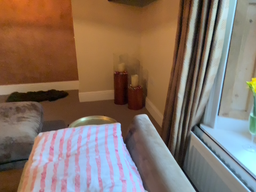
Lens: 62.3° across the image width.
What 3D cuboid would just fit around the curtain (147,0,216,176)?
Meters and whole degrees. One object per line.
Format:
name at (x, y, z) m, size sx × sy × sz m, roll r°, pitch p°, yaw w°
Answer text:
curtain at (0.380, -0.440, 1.620) m, size 0.250 × 2.180 × 0.490 m, roll -3°, pitch 22°, yaw -10°
